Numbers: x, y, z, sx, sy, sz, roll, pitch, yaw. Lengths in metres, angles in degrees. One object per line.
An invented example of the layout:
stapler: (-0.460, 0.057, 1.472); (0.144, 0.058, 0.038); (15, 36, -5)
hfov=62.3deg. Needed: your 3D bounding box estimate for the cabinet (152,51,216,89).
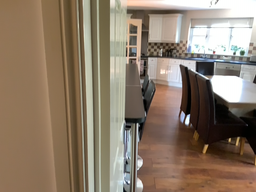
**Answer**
cabinet: (1.690, -0.860, 6.590); (1.730, 0.900, 0.600); (12, 19, 33)
